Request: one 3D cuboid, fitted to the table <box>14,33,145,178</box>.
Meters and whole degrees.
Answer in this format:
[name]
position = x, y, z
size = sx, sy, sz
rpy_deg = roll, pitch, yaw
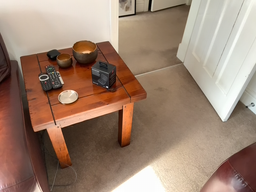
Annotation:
[table]
position = -0.340, 0.020, 1.460
size = 0.600, 0.530, 0.690
rpy_deg = -17, 48, -20
